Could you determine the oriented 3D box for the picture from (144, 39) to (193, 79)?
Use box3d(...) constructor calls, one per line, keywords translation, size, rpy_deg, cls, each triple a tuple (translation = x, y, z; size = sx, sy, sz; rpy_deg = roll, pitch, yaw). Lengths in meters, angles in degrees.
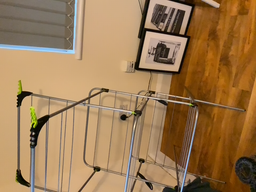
box3d(translation=(0.340, -0.320, 1.770), size=(0.080, 0.430, 0.280), rpy_deg=(33, 128, 51), cls="picture")
